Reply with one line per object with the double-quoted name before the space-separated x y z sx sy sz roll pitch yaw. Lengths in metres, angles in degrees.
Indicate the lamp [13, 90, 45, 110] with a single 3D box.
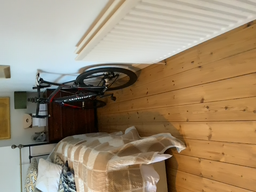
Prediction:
"lamp" -1.620 0.070 3.470 0.230 0.460 0.290 -11 82 61
